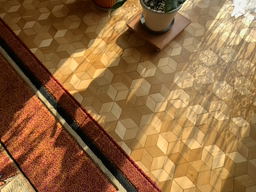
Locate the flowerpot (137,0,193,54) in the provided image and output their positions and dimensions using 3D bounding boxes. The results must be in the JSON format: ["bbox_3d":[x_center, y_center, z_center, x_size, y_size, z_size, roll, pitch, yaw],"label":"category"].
[{"bbox_3d":[0.250,-0.590,1.290,0.250,0.600,0.290,25,67,9],"label":"flowerpot"}]
